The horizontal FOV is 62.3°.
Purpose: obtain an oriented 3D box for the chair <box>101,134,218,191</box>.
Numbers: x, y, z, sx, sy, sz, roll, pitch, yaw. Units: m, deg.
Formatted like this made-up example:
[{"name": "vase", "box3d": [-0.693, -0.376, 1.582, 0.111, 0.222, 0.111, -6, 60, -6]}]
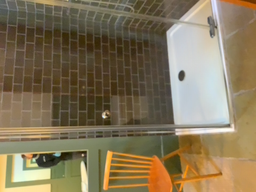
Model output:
[{"name": "chair", "box3d": [0.230, 0.690, 1.860, 0.510, 0.790, 0.450, -124, 40, -57]}]
